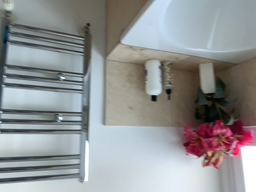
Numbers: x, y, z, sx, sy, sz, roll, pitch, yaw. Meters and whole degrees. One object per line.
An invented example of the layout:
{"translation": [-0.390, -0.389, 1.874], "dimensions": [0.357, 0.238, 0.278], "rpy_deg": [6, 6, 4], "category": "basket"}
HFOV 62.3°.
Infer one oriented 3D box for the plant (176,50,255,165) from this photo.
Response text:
{"translation": [0.480, 0.080, 1.150], "dimensions": [0.270, 0.520, 0.330], "rpy_deg": [5, 168, -21], "category": "plant"}
